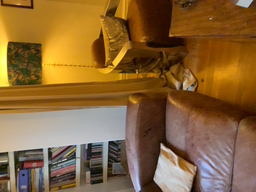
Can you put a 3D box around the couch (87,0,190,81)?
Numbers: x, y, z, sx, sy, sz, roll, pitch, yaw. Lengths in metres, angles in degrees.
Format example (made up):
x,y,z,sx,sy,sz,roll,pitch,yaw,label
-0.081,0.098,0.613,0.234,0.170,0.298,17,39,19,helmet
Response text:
x,y,z,sx,sy,sz,roll,pitch,yaw,label
0.030,-0.600,2.100,0.770,0.690,0.600,129,135,-59,couch
